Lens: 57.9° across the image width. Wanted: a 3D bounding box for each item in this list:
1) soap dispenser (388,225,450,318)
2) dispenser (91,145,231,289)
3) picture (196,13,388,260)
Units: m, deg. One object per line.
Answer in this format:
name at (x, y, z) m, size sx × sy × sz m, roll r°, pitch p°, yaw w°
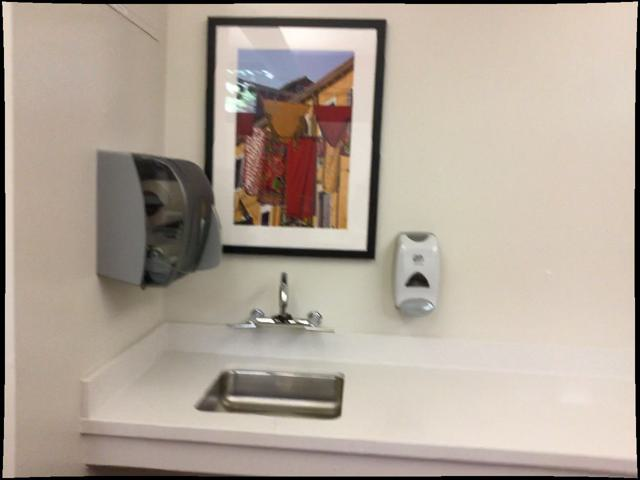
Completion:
soap dispenser at (0.320, 0.100, 1.900) m, size 0.180 × 0.280 × 0.120 m, roll 2°, pitch 7°, yaw 4°
dispenser at (-0.430, -0.080, 1.650) m, size 0.270 × 0.360 × 0.370 m, roll 2°, pitch 7°, yaw 4°
picture at (-0.100, -0.340, 1.940) m, size 0.619 × 0.791 × 0.070 m, roll 2°, pitch 7°, yaw 4°
